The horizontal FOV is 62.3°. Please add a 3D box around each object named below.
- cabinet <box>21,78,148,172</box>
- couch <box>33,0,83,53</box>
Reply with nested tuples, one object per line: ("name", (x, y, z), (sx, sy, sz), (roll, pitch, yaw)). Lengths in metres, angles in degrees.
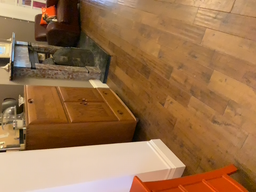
("cabinet", (-0.510, 0.240, 2.260), (0.780, 1.090, 0.540), (48, 130, 52))
("couch", (-1.510, -1.580, 4.450), (0.890, 0.820, 0.930), (-34, 60, 56))
